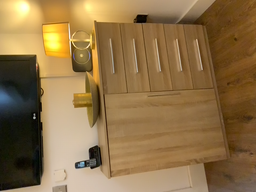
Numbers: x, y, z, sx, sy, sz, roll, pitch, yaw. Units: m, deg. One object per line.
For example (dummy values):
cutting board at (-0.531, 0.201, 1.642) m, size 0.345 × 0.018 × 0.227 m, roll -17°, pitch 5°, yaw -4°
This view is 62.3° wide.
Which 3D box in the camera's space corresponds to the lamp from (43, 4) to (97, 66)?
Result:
lamp at (-0.410, -0.410, 1.510) m, size 0.350 × 0.310 × 0.290 m, roll 142°, pitch 123°, yaw -71°
